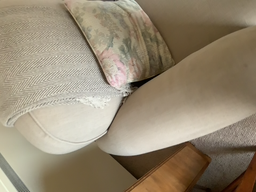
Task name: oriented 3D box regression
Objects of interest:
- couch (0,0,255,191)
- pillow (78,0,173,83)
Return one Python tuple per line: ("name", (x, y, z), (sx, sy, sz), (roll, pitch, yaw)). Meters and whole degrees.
("couch", (0.070, -0.270, 0.790), (0.800, 0.840, 0.890), (-33, 76, 30))
("pillow", (-0.020, -0.240, 0.770), (0.090, 0.290, 0.340), (-45, 45, 39))
